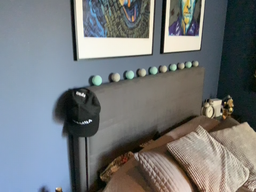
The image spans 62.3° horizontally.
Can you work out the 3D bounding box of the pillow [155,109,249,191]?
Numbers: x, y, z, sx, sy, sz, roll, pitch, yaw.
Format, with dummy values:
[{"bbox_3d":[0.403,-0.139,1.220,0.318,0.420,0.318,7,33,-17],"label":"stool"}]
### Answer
[{"bbox_3d":[0.510,0.430,1.400,0.210,0.490,0.530,19,84,52],"label":"pillow"}]
